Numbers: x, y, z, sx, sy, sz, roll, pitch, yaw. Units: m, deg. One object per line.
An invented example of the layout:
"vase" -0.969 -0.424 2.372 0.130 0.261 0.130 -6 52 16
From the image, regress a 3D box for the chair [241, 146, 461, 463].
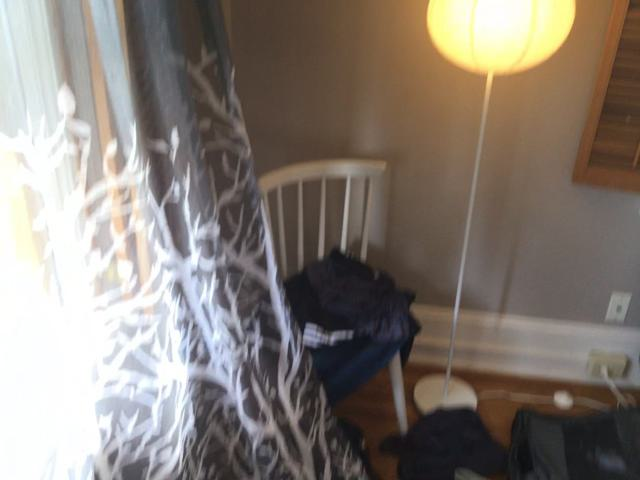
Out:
"chair" 0.060 0.190 1.840 0.520 0.840 0.430 -6 28 -14
